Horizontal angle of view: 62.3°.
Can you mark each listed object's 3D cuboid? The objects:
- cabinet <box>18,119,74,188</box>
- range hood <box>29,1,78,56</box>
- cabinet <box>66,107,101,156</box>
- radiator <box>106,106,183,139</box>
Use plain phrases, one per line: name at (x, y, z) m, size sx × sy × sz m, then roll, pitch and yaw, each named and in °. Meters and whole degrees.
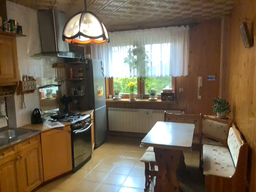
cabinet at (-1.240, 0.840, 3.260) m, size 0.590 × 0.850 × 0.480 m, roll 2°, pitch 8°, yaw 20°
range hood at (-1.220, -1.080, 3.560) m, size 0.350 × 0.750 × 0.710 m, roll 2°, pitch 8°, yaw 22°
cabinet at (-0.890, 0.690, 4.300) m, size 0.540 × 0.850 × 0.410 m, roll 2°, pitch 8°, yaw 20°
radiator at (0.360, 0.600, 5.080) m, size 1.830 × 0.620 × 0.210 m, roll 2°, pitch 8°, yaw 20°
